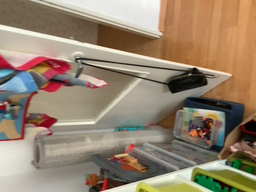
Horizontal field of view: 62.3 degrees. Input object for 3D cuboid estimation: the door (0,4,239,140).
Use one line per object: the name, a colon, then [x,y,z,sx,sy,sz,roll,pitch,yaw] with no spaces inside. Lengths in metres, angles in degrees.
door: [-0.490,-0.010,0.990,0.850,2.510,0.110,-44,55,42]
